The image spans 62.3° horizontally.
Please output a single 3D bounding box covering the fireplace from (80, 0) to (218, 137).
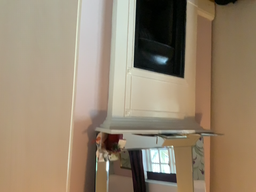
[{"bbox_3d":[0.220,-0.330,1.550,1.000,1.160,0.340,5,175,-37],"label":"fireplace"}]
